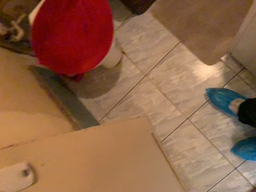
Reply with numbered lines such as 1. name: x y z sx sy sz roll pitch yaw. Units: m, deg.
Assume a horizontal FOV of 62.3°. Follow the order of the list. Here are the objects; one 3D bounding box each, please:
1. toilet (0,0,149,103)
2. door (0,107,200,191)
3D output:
1. toilet: -0.380 -0.380 0.980 0.490 0.890 0.640 -44 76 10
2. door: -0.050 0.340 0.320 0.100 2.070 0.720 -37 78 12
